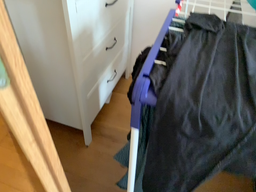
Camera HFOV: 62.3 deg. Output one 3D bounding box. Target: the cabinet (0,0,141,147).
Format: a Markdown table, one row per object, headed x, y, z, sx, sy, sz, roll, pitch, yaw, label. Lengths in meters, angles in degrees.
| x | y | z | sx | sy | sz | roll | pitch | yaw | label |
| --- | --- | --- | --- | --- | --- | --- | --- | --- | --- |
| -0.270 | -0.320 | 1.330 | 0.480 | 0.910 | 0.780 | 15 | 45 | 11 | cabinet |

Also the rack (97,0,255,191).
| x | y | z | sx | sy | sz | roll | pitch | yaw | label |
| --- | --- | --- | --- | --- | --- | --- | --- | --- | --- |
| 0.450 | 0.010 | 1.060 | 0.660 | 0.890 | 1.260 | 17 | 45 | 13 | rack |
